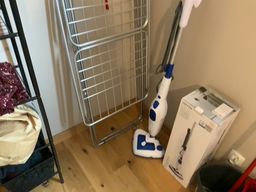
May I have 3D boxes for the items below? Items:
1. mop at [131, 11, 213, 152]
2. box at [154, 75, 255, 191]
[{"bbox_3d":[0.220,-0.040,1.380,0.180,0.890,0.310,-22,48,-27],"label":"mop"},{"bbox_3d":[0.420,0.250,1.320,0.260,0.630,0.330,-23,49,-29],"label":"box"}]
